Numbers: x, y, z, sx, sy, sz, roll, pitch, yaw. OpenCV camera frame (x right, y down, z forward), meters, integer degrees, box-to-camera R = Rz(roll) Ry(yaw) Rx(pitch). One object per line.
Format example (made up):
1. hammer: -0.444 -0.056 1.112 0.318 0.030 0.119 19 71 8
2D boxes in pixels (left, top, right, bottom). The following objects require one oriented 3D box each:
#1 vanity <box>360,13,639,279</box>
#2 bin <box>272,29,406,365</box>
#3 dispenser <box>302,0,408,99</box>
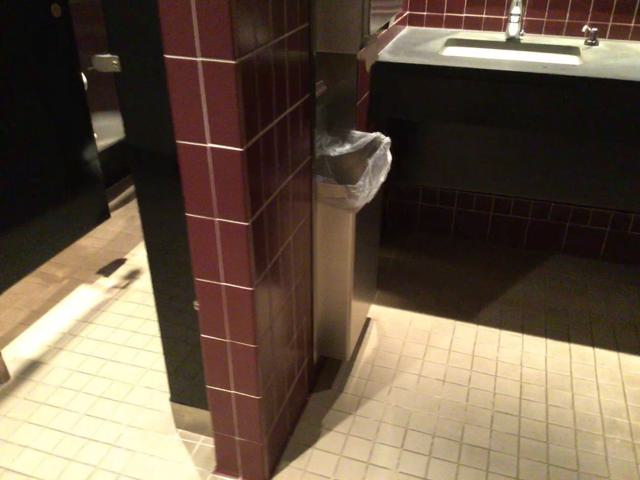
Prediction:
1. vanity: 1.030 -0.340 2.030 1.660 0.710 0.600 9 31 16
2. bin: 0.070 -0.130 1.720 0.230 0.860 0.460 9 31 16
3. dispenser: 0.100 -0.670 1.370 0.160 0.550 0.420 9 31 16
